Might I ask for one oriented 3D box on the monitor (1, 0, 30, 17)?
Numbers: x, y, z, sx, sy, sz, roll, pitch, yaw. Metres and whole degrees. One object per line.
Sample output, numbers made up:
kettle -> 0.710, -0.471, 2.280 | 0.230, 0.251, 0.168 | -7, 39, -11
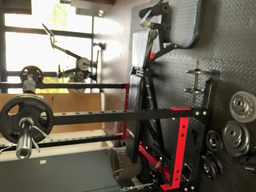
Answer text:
monitor -> -2.140, -1.960, 4.020 | 0.930, 0.500, 0.060 | 118, 144, -48
